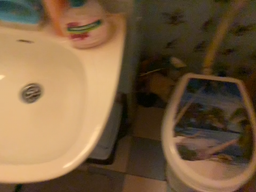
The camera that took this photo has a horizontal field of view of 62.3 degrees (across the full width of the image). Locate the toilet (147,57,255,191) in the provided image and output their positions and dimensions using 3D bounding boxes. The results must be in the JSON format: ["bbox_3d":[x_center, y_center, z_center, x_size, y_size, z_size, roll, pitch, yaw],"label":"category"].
[{"bbox_3d":[0.320,0.170,0.990,0.360,0.420,0.500,9,66,4],"label":"toilet"}]

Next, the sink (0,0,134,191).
[{"bbox_3d":[-0.270,-0.020,0.530,0.500,0.190,0.400,11,66,5],"label":"sink"}]
